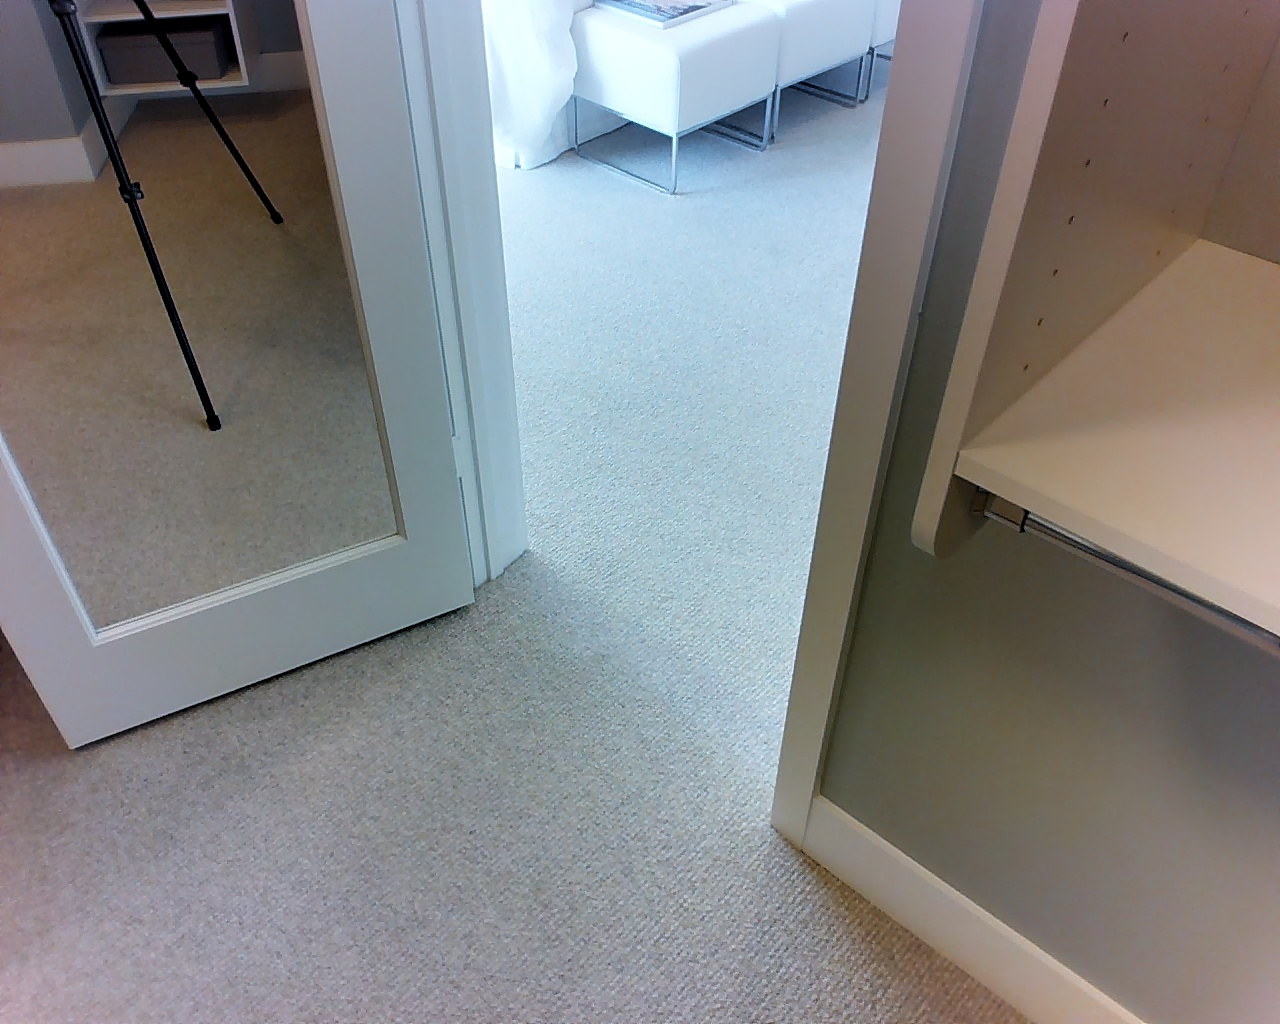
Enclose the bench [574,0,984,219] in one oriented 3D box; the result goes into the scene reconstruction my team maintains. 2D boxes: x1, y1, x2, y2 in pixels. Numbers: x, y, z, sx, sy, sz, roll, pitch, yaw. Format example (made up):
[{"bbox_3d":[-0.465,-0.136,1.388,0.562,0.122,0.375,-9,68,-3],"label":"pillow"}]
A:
[{"bbox_3d":[0.520,-1.540,3.640,1.520,0.460,0.500,-34,51,-31],"label":"bench"}]
